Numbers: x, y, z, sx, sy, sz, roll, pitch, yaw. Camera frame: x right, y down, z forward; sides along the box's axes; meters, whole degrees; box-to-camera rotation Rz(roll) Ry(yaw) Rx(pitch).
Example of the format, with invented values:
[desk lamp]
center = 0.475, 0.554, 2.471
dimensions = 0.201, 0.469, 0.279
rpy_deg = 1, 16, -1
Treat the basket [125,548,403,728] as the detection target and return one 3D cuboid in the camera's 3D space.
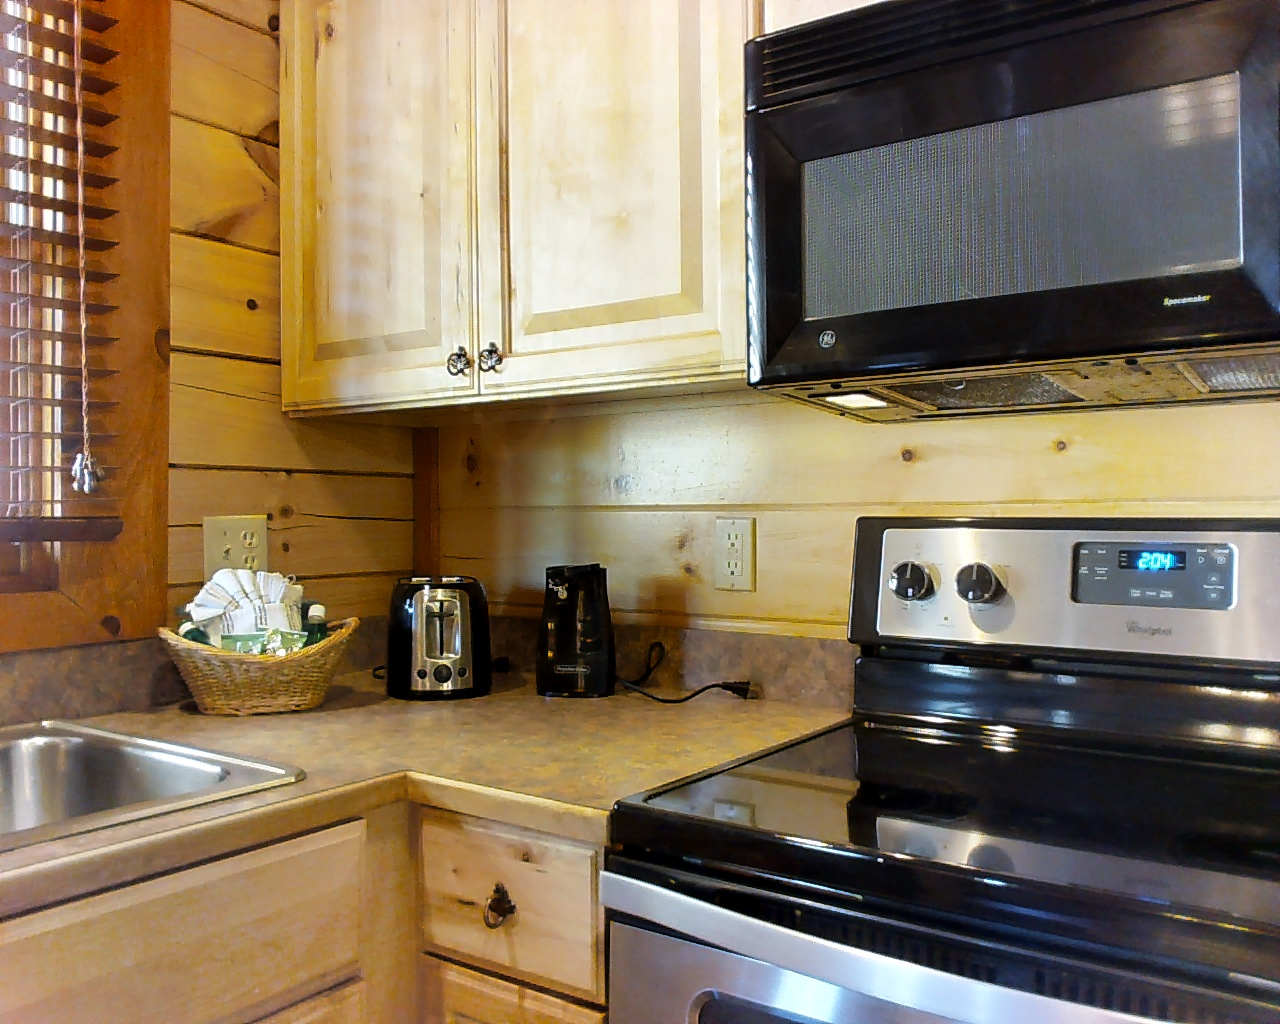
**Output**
[basket]
center = -0.550, 0.170, 1.590
dimensions = 0.270, 0.220, 0.280
rpy_deg = -1, 0, 35
